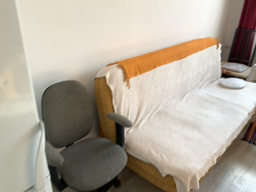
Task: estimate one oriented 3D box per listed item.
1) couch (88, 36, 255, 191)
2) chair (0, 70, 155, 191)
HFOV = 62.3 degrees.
[{"bbox_3d":[0.690,0.050,2.130,0.880,0.950,1.950,23,33,38],"label":"couch"},{"bbox_3d":[-0.320,0.400,1.450,0.740,0.890,0.590,23,33,38],"label":"chair"}]
